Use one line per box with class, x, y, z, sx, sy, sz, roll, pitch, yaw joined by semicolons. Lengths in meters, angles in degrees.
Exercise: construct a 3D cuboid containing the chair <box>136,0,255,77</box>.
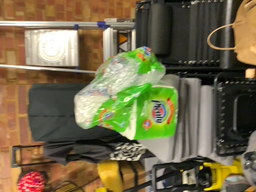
chair;0.570;-0.470;1.600;0.510;0.880;0.640;-167;76;-66
